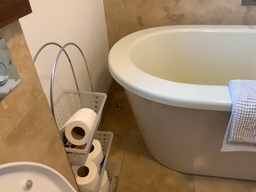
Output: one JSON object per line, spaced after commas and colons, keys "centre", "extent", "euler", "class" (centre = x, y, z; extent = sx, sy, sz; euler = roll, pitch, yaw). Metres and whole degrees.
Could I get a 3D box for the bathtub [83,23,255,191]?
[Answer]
{"centre": [0.780, 0.040, 1.160], "extent": [1.760, 0.620, 0.820], "euler": [3, 37, 9], "class": "bathtub"}
